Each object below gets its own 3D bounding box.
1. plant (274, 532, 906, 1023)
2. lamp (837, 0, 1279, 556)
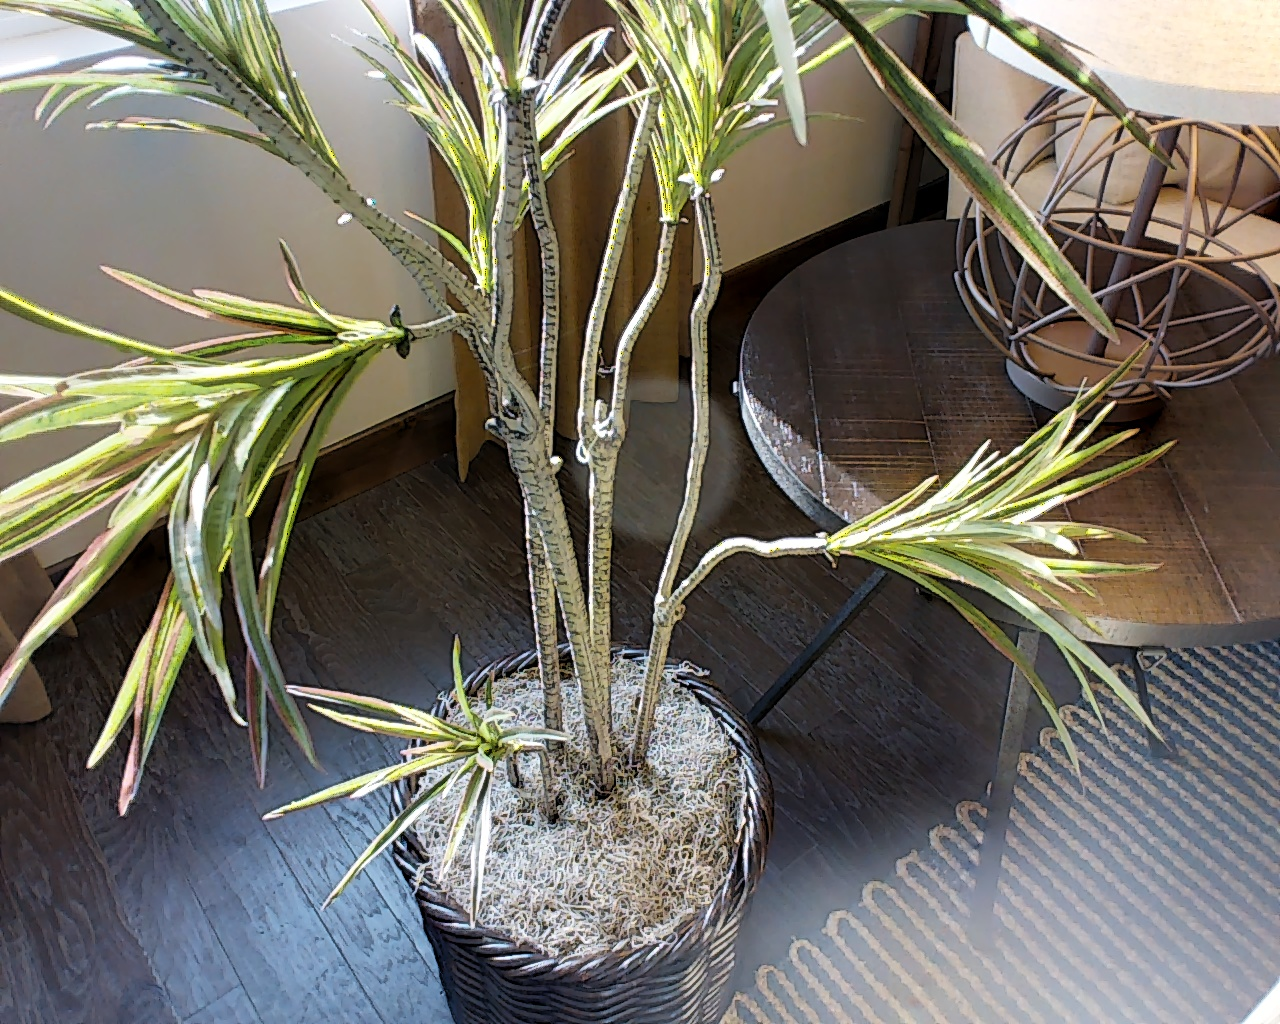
[{"bbox_3d":[-0.060,0.420,1.320,0.500,0.430,0.490,-29,49,-27],"label":"plant"},{"bbox_3d":[0.520,-0.460,0.950,0.430,0.820,0.410,-29,49,-27],"label":"lamp"}]
